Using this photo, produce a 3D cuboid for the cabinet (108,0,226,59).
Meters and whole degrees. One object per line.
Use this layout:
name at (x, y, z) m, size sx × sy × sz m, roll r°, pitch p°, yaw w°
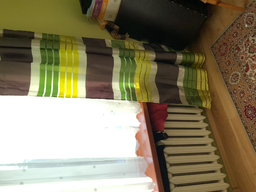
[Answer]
cabinet at (0.340, -1.080, 2.420) m, size 0.630 × 0.970 × 1.030 m, roll 123°, pitch 145°, yaw -54°
